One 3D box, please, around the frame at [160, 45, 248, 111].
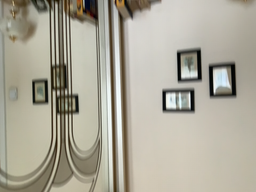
[{"bbox_3d":[0.420,-0.090,1.220,0.450,0.340,0.070,-3,178,21],"label":"frame"}]
